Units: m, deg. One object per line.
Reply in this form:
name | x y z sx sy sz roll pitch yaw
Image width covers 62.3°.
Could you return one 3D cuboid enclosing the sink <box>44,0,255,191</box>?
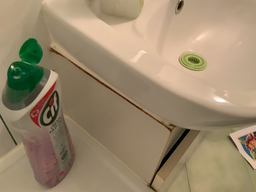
sink | 0.180 -0.130 0.430 0.380 0.140 0.510 34 53 22
